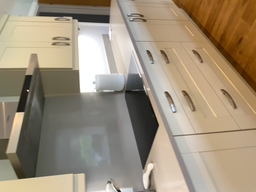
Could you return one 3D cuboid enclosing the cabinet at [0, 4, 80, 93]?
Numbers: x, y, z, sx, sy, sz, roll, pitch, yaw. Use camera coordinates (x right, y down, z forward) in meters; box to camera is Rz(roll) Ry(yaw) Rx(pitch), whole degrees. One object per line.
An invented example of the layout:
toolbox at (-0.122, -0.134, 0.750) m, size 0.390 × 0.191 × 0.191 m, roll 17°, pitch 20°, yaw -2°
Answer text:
cabinet at (-0.990, -0.590, 2.360) m, size 1.260 × 0.850 × 0.310 m, roll -105°, pitch 18°, yaw -44°
